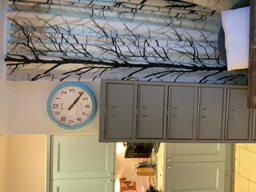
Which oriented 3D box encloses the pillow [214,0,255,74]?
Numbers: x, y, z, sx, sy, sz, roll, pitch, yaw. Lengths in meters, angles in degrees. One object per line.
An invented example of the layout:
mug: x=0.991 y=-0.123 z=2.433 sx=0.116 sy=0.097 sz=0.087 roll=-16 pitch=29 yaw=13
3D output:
pillow: x=0.660 y=-0.360 z=1.310 sx=0.120 sy=0.210 sz=0.420 roll=2 pitch=-93 yaw=-27
